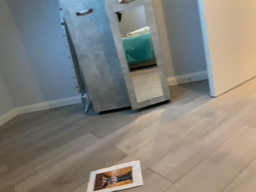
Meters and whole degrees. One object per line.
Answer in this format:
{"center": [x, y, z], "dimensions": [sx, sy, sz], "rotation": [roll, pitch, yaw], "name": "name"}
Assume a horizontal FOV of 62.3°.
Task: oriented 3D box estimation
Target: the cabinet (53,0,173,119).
{"center": [-0.160, -0.820, 1.980], "dimensions": [0.800, 1.900, 0.560], "rotation": [-10, 18, 11], "name": "cabinet"}
